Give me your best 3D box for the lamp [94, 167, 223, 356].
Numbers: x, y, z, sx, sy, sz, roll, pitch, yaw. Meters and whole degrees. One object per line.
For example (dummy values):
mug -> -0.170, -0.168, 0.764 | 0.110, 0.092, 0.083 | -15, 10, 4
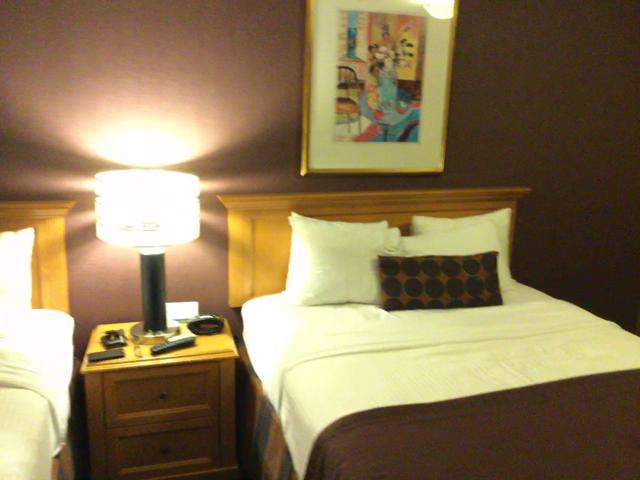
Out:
lamp -> -0.660, 0.050, 2.370 | 0.440, 0.690, 0.430 | -3, 8, -18
